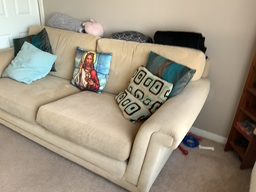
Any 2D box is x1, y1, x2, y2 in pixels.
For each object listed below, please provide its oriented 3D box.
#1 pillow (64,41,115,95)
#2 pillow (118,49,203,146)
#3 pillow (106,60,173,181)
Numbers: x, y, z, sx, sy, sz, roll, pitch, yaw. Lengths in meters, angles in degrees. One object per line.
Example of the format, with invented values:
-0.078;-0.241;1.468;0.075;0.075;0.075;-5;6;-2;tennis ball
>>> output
-0.370;-0.270;1.980;0.440;0.390;0.140;21;17;29;pillow
0.210;-0.020;1.650;0.250;0.620;0.490;17;6;-24;pillow
0.040;0.170;1.700;0.340;0.790;0.490;-5;27;-16;pillow
